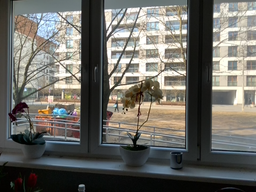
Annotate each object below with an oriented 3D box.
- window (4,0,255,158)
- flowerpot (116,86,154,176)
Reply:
[{"bbox_3d":[0.080,-0.240,1.920,2.440,1.440,0.250,1,0,8],"label":"window"},{"bbox_3d":[0.060,0.230,1.570,0.230,0.600,0.280,1,0,13],"label":"flowerpot"}]
